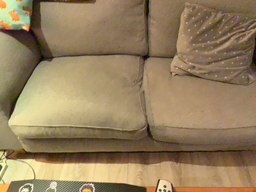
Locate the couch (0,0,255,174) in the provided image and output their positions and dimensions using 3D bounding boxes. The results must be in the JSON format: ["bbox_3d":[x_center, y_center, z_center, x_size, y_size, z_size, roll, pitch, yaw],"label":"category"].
[{"bbox_3d":[0.120,-0.230,1.290,1.970,0.910,0.980,-1,41,0],"label":"couch"}]
